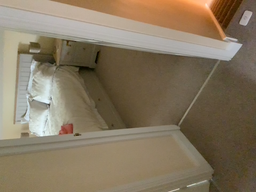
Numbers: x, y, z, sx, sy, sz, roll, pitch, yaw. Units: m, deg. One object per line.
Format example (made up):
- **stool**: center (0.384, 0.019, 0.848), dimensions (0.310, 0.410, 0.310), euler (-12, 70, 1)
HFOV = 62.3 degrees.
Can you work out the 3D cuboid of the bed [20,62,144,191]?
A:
- **bed**: center (-0.900, 0.800, 2.900), dimensions (2.150, 0.690, 1.640), euler (51, 130, 42)
